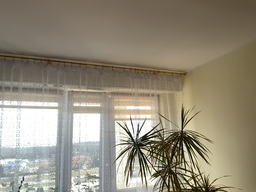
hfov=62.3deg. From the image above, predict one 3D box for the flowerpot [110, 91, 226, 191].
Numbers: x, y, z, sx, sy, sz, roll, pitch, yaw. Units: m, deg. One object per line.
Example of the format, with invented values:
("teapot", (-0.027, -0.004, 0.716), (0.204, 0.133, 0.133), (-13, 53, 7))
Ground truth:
("flowerpot", (0.480, 1.020, 2.260), (0.890, 1.900, 0.990), (-9, -13, 32))
